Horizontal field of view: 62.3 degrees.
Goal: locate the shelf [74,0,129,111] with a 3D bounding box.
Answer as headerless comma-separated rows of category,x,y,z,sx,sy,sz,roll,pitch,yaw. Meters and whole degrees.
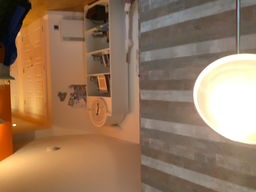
shelf,-0.490,-0.730,3.790,0.970,1.890,0.390,2,-175,43
